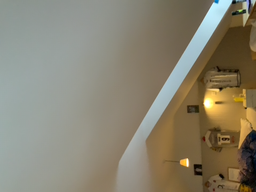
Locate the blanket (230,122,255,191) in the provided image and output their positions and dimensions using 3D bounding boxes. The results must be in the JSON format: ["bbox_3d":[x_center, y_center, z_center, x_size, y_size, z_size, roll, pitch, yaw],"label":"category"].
[{"bbox_3d":[2.050,1.030,3.730,0.860,0.390,0.820,-49,-48,-59],"label":"blanket"}]
